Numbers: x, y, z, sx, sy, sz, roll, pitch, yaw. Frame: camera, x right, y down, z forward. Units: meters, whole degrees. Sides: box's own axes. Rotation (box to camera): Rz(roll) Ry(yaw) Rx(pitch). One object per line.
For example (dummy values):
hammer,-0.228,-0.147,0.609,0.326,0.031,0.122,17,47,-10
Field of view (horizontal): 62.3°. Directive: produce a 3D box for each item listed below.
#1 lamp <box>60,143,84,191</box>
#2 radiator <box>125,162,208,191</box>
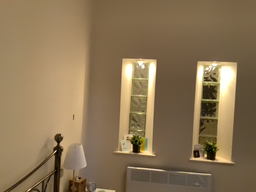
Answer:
lamp,-0.540,0.750,2.050,0.170,0.560,0.130,3,1,6
radiator,0.460,1.180,2.670,0.990,0.570,0.150,3,1,7
